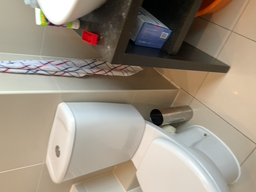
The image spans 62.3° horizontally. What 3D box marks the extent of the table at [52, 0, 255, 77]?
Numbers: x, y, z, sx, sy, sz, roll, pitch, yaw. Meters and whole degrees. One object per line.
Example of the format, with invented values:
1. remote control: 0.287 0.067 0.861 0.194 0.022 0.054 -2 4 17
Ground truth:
1. table: 0.210 -0.520 0.850 0.490 0.740 0.720 45 124 39

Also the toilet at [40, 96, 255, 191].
1. toilet: 0.130 0.360 0.960 0.660 0.780 0.390 47 125 37
